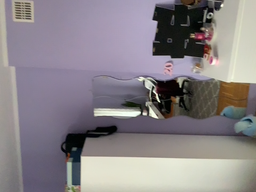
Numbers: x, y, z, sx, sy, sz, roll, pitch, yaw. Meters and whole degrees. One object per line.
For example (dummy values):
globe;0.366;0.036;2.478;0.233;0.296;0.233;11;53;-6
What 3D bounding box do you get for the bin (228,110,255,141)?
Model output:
bin;1.250;0.290;2.160;0.310;0.280;0.240;-128;40;-81
